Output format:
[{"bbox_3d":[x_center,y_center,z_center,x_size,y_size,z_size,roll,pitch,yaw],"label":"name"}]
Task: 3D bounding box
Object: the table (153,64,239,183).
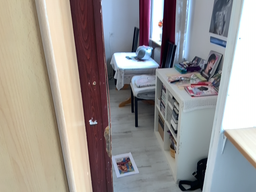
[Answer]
[{"bbox_3d":[0.560,0.200,2.090,0.430,0.790,0.880,-4,24,-5],"label":"table"}]
